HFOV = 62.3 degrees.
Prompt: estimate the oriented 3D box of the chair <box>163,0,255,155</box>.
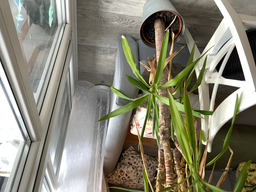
[{"bbox_3d":[0.570,-0.180,1.180,0.530,0.880,0.410,5,140,-9],"label":"chair"}]
